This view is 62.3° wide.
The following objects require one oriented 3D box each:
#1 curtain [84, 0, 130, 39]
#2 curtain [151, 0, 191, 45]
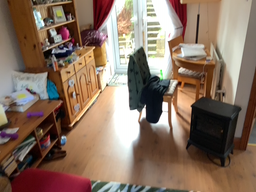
[{"bbox_3d":[-0.370,-1.740,3.590,0.720,1.440,0.320,-2,27,3],"label":"curtain"},{"bbox_3d":[0.680,-1.610,3.380,0.620,1.550,0.190,2,27,11],"label":"curtain"}]
